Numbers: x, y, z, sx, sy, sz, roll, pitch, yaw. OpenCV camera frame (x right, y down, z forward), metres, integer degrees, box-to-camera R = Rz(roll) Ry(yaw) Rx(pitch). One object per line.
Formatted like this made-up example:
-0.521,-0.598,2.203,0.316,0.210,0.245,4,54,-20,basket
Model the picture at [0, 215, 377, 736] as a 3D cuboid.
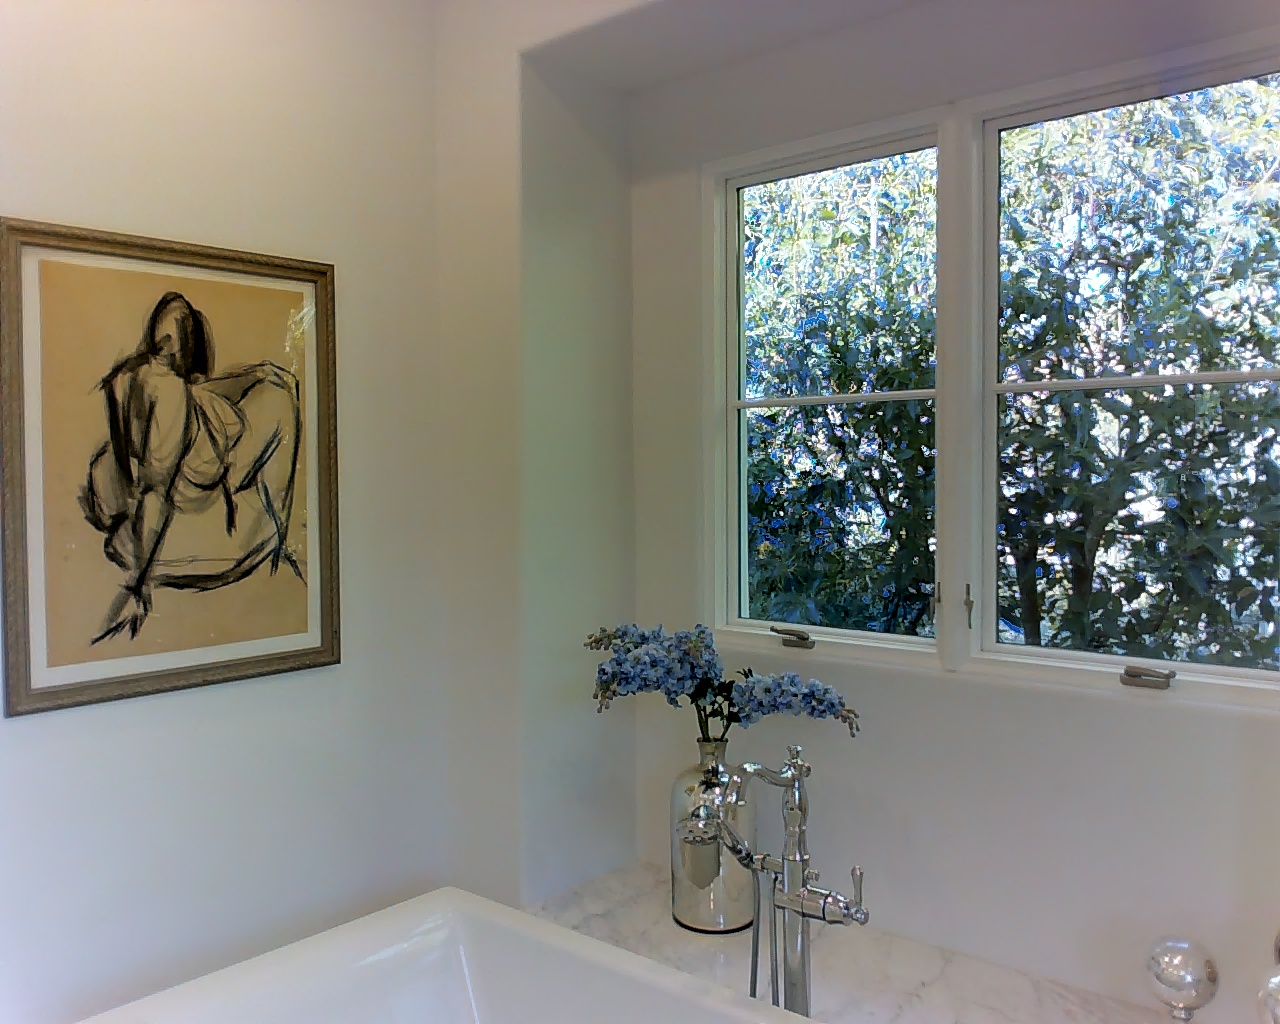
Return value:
-0.990,-0.080,2.460,0.040,1.030,0.880,1,2,41,picture
